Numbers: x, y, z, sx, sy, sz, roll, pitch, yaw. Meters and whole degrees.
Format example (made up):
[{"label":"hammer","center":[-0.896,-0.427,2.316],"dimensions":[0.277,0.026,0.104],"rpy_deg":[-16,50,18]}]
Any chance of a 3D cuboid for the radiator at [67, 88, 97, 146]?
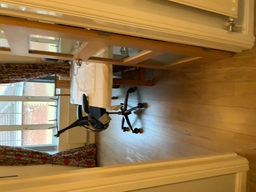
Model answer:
[{"label":"radiator","center":[-1.030,0.450,4.730],"dimensions":[0.250,0.600,1.230],"rpy_deg":[178,93,-65]}]
